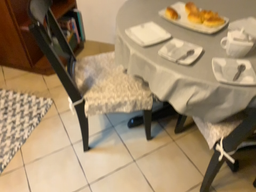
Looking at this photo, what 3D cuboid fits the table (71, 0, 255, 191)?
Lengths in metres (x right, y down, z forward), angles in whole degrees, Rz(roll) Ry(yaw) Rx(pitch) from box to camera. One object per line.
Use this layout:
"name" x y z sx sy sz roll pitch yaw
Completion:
"table" 0.460 -0.170 1.400 1.120 0.740 1.120 12 46 11
